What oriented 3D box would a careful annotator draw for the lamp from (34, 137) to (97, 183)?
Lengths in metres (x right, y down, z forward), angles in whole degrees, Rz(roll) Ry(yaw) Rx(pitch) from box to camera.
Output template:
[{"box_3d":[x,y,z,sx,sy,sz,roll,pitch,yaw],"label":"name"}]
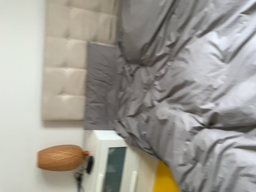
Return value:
[{"box_3d":[-0.540,0.530,1.820,0.240,0.470,0.250,-145,61,-62],"label":"lamp"}]
